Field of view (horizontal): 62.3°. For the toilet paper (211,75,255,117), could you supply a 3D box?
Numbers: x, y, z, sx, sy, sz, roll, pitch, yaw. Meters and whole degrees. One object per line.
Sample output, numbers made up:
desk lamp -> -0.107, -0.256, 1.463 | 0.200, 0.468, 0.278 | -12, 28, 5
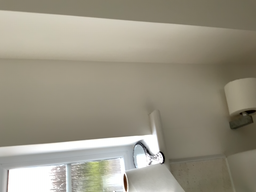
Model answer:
toilet paper -> 0.390, 0.000, 0.720 | 0.100, 0.150, 0.110 | 127, 138, -64
